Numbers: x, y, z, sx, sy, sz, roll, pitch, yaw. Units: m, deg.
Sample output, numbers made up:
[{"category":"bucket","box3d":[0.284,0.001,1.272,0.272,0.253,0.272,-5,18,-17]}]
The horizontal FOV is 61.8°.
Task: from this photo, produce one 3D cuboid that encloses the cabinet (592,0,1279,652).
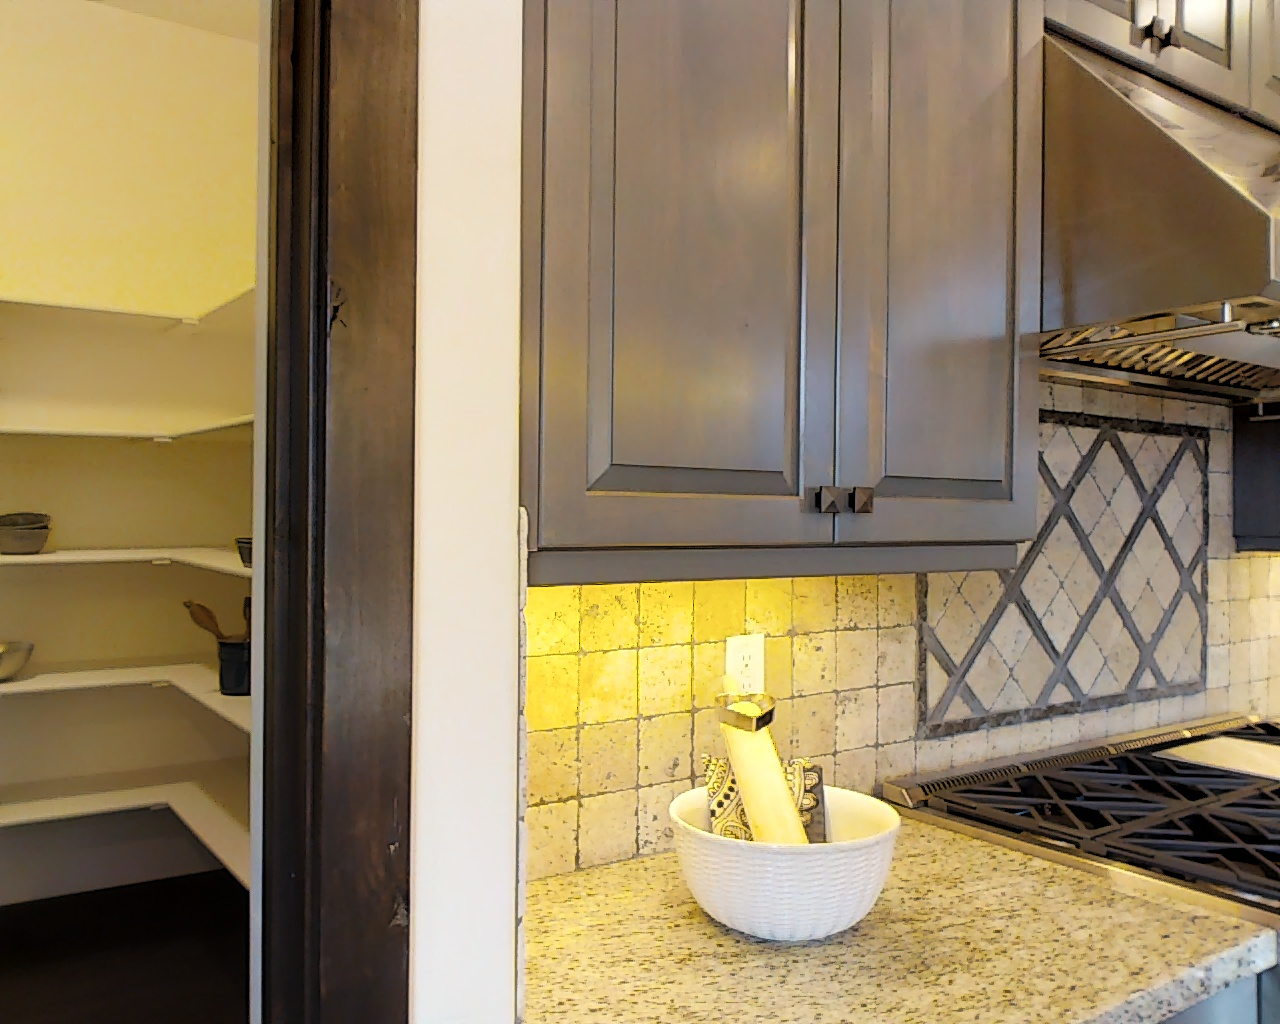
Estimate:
[{"category":"cabinet","box3d":[1.180,-0.560,1.940,2.870,1.410,0.230,1,0,-36]}]
